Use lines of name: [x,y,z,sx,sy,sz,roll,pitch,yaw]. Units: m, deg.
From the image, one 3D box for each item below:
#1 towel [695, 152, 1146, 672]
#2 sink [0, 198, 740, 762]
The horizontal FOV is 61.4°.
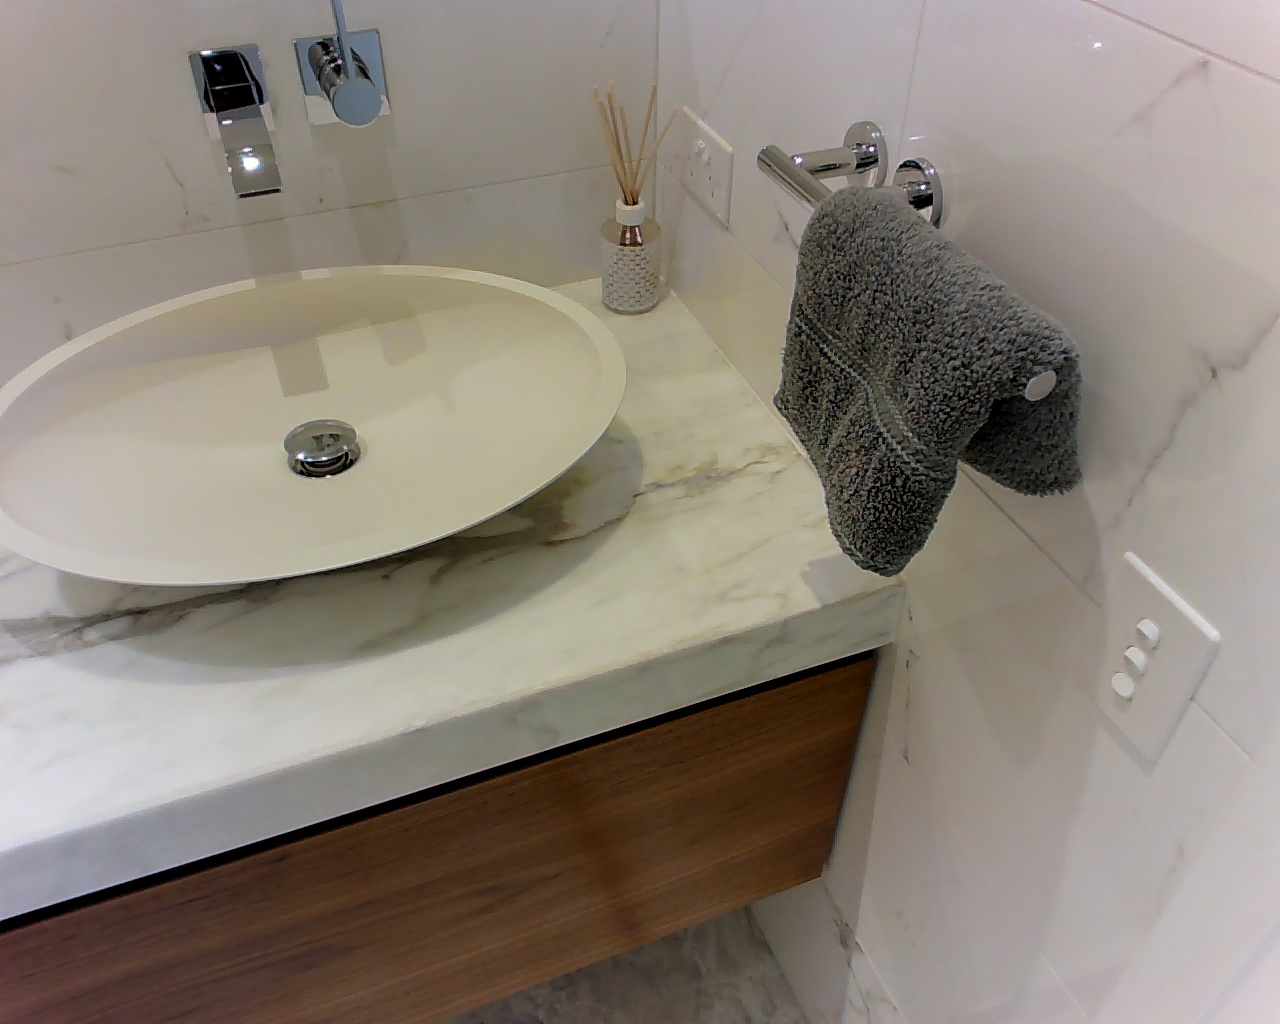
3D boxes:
towel: [0.150,-0.070,0.680,0.140,0.210,0.230,-15,44,-16]
sink: [-0.260,-0.070,0.910,0.560,0.140,0.400,-15,44,-16]
